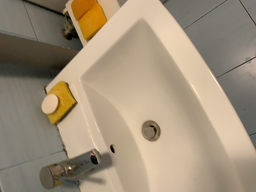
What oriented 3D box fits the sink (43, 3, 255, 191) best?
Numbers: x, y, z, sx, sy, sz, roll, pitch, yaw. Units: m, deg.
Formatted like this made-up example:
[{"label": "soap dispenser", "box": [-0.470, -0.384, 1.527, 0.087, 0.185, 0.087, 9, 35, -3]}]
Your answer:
[{"label": "sink", "box": [0.050, 0.140, 0.600, 0.400, 0.170, 0.610, -32, 76, 26]}]
